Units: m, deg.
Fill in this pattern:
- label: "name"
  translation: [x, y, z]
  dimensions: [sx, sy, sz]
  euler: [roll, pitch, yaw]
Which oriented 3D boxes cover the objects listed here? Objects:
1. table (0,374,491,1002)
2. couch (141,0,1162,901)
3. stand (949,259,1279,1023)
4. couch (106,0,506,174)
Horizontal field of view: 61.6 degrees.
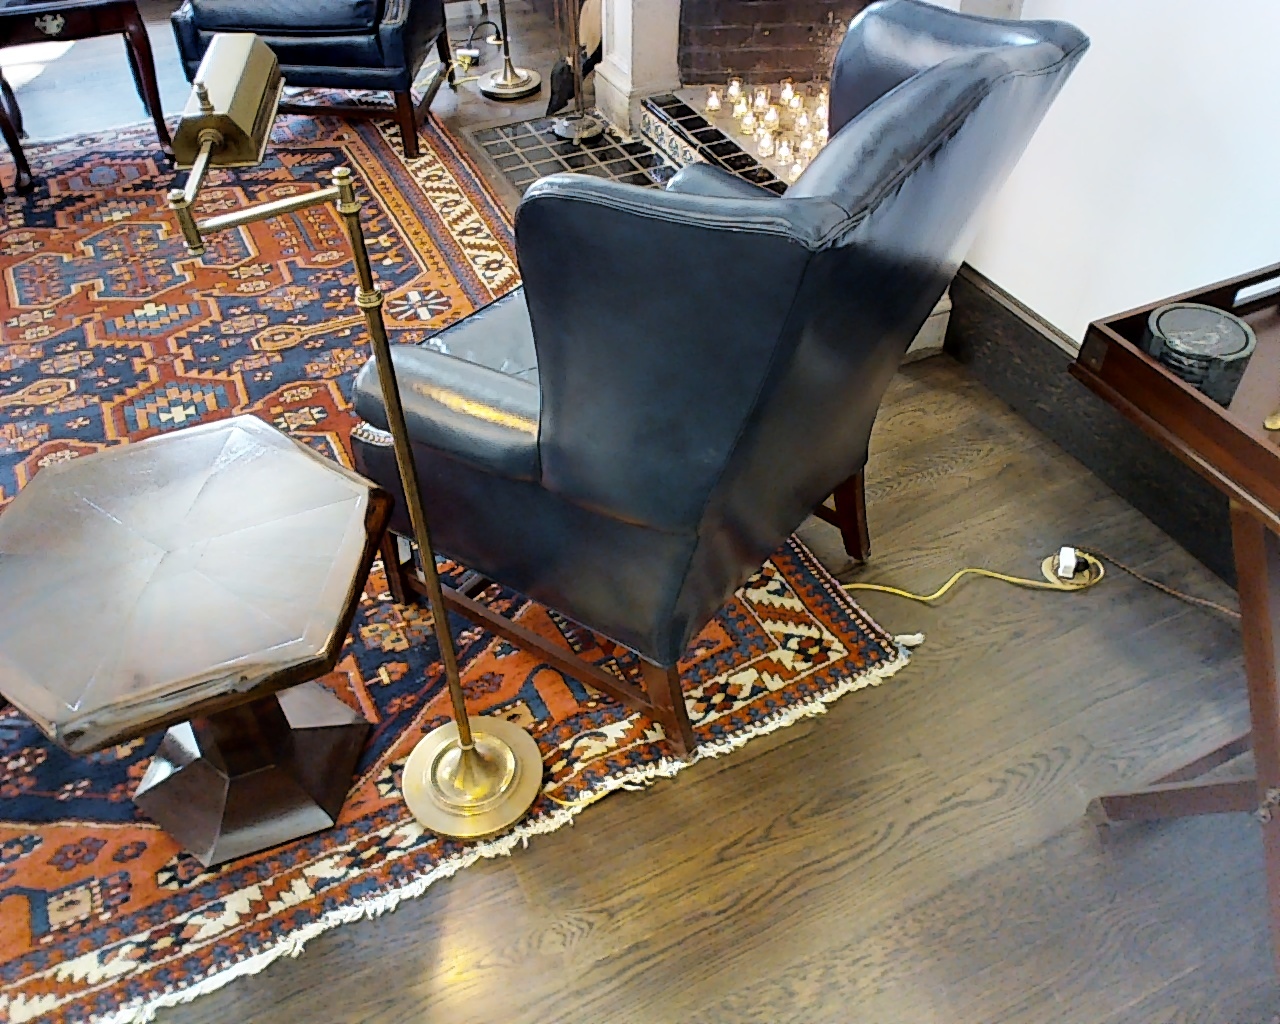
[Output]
- label: "table"
  translation: [-0.650, 0.230, 1.620]
  dimensions: [0.640, 0.500, 0.570]
  euler: [-19, 46, -19]
- label: "couch"
  translation: [0.060, -0.260, 1.710]
  dimensions: [0.900, 1.090, 0.950]
  euler: [27, 49, 26]
- label: "stand"
  translation: [1.060, 0.250, 1.410]
  dimensions: [0.700, 0.830, 0.930]
  euler: [-18, 46, -18]
- label: "couch"
  translation: [-1.040, -1.820, 3.410]
  dimensions: [0.950, 1.080, 0.920]
  euler: [6, 43, 6]
